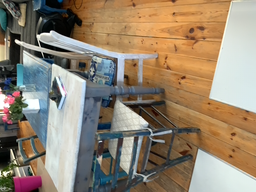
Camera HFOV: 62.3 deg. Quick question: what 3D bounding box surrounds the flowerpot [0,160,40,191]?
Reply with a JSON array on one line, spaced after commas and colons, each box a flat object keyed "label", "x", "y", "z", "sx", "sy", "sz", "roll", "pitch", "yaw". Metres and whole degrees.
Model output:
[{"label": "flowerpot", "x": -2.650, "y": 2.010, "z": 4.630, "sx": 0.540, "sy": 1.200, "sz": 0.780, "roll": 27, "pitch": 113, "yaw": 49}]
